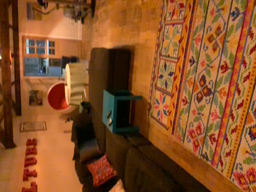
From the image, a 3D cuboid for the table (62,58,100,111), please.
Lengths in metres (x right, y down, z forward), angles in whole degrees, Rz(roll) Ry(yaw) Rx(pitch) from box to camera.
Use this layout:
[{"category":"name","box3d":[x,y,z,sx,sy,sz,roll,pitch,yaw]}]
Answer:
[{"category":"table","box3d":[-1.300,-0.270,5.690,1.070,0.750,1.060,140,126,-61]}]

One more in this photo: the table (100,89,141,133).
[{"category":"table","box3d":[-0.140,0.220,3.430,0.580,0.440,0.550,-151,63,-63]}]
